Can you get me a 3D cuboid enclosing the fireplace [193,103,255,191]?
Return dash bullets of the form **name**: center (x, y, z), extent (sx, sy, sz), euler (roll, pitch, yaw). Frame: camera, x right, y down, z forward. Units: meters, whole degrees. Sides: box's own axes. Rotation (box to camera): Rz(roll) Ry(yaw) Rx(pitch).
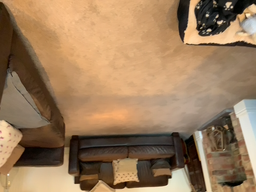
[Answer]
- **fireplace**: center (1.450, 0.840, 3.000), extent (0.460, 1.140, 1.070), euler (-1, 156, -7)
